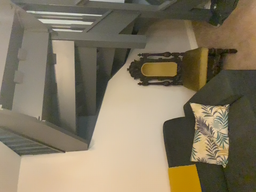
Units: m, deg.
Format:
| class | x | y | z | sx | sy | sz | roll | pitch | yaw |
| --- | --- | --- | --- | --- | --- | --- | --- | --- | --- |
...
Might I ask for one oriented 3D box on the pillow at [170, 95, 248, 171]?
| class | x | y | z | sx | sy | sz | roll | pitch | yaw |
| --- | --- | --- | --- | --- | --- | --- | --- | --- | --- |
| pillow | 0.800 | 0.350 | 2.110 | 0.590 | 0.390 | 0.260 | -42 | 17 | -7 |
